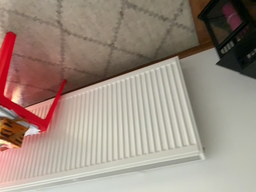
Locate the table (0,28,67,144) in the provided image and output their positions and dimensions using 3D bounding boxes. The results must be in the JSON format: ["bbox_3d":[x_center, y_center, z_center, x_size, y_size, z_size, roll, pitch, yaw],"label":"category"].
[{"bbox_3d":[-0.830,-0.010,1.380,0.620,0.410,0.500,-17,144,18],"label":"table"}]
